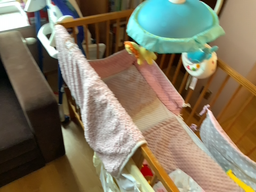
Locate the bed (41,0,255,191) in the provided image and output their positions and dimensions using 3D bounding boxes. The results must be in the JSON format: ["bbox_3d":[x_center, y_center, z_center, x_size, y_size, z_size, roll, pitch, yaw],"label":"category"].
[{"bbox_3d":[0.120,0.220,1.290,0.730,0.960,1.390,-19,53,-24],"label":"bed"}]
